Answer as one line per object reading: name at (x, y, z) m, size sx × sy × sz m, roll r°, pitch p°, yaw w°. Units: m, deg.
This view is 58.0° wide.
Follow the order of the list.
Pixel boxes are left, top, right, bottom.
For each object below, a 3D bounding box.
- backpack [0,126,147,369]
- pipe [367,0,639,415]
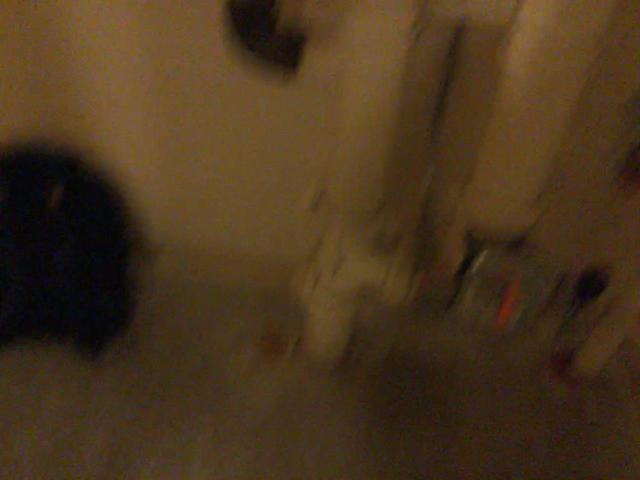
backpack at (-0.650, 0.020, 1.340) m, size 0.400 × 0.400 × 0.340 m, roll 9°, pitch 45°, yaw -6°
pipe at (0.550, -0.740, 0.470) m, size 0.530 × 2.940 × 0.360 m, roll 6°, pitch 46°, yaw -3°
